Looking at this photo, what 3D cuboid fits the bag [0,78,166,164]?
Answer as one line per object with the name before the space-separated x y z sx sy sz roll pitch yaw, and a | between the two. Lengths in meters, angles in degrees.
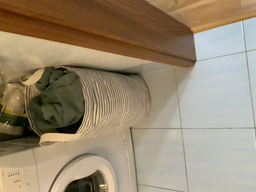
bag | -0.190 0.090 1.110 0.500 0.670 0.280 -5 89 36
